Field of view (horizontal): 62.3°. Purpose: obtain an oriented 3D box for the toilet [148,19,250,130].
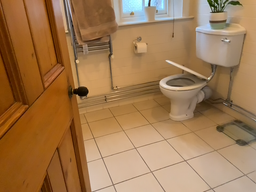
[{"bbox_3d":[0.640,-0.250,2.120,0.730,0.890,0.510,-11,27,-18],"label":"toilet"}]
